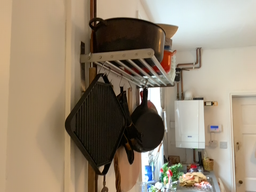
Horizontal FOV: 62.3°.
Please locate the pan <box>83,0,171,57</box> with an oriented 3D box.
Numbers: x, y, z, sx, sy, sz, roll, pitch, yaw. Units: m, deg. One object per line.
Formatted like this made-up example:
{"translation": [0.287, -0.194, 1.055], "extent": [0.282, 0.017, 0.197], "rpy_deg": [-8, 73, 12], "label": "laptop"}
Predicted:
{"translation": [0.010, -0.240, 0.810], "extent": [0.290, 0.110, 0.210], "rpy_deg": [-1, -4, 15], "label": "pan"}
